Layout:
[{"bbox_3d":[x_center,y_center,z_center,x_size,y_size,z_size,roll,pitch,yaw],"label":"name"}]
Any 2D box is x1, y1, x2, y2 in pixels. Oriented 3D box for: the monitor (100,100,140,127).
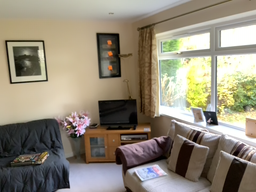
[{"bbox_3d":[-0.140,0.300,3.620,0.660,0.460,0.070,-1,10,8],"label":"monitor"}]
